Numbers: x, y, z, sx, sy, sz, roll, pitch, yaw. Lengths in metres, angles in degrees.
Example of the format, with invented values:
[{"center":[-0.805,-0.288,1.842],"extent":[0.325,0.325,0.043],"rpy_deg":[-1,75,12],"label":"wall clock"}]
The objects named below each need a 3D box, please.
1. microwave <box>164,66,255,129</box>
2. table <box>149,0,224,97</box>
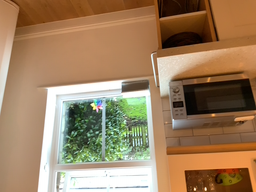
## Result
[{"center":[0.490,0.030,1.360],"extent":[0.490,0.270,0.320],"rpy_deg":[-6,160,8],"label":"microwave"},{"center":[0.330,-0.530,1.470],"extent":[0.330,0.900,0.620],"rpy_deg":[-6,160,9],"label":"table"}]
